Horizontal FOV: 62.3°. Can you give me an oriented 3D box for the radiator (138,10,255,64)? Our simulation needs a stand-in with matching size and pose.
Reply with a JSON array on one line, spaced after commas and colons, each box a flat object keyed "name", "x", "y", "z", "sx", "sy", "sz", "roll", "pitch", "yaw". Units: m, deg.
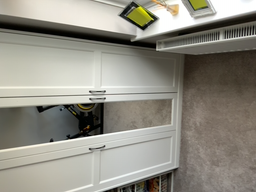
[{"name": "radiator", "x": 0.690, "y": -0.330, "z": 1.350, "sx": 1.120, "sy": 0.700, "sz": 0.150, "roll": 5, "pitch": 97, "yaw": 54}]
